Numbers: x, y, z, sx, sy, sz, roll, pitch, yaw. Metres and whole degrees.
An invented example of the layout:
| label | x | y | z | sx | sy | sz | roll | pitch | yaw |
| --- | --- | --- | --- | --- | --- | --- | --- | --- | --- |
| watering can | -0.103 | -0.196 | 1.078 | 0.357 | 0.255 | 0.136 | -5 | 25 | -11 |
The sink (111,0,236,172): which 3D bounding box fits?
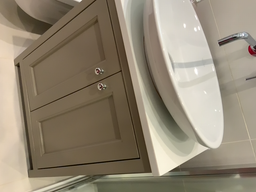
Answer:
| label | x | y | z | sx | sy | sz | roll | pitch | yaw |
| --- | --- | --- | --- | --- | --- | --- | --- | --- | --- |
| sink | 0.160 | -0.110 | 0.700 | 0.400 | 0.120 | 0.590 | 0 | 75 | -51 |
